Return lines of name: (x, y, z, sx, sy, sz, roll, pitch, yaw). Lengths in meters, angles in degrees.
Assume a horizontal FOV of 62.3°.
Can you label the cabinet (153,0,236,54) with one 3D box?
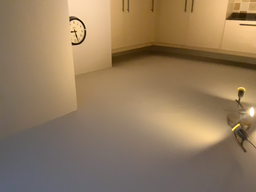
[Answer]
cabinet: (0.960, -1.140, 3.240, 1.090, 0.790, 0.340, 20, -151, 36)
